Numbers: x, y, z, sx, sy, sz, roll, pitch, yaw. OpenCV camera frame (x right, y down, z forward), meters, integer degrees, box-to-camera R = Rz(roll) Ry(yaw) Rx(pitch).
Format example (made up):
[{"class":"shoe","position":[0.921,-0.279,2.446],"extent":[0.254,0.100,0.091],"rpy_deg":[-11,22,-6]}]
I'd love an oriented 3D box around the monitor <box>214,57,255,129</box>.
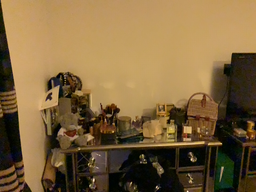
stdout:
[{"class":"monitor","position":[1.090,-0.030,1.660],"extent":[0.790,0.540,0.070],"rpy_deg":[-3,15,-5]}]
